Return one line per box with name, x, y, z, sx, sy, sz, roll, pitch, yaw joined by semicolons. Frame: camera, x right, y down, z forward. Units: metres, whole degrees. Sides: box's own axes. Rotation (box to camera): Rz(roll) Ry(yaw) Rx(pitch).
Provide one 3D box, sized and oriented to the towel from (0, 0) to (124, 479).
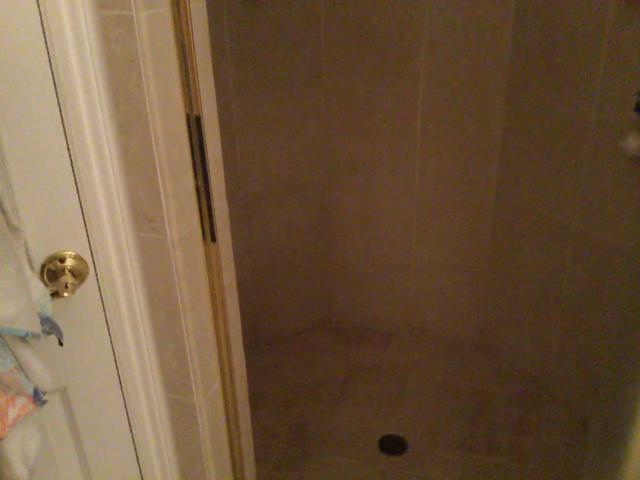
towel;-0.430;0.120;0.750;0.240;0.890;0.190;-13;27;-26
